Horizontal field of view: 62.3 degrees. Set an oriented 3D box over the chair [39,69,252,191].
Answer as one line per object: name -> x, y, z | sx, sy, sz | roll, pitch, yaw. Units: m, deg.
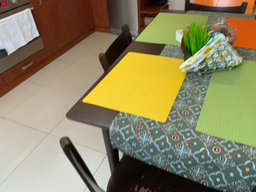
chair -> 0.090, 0.380, 0.780 | 0.390, 0.780, 0.420 | 19, 43, 26
